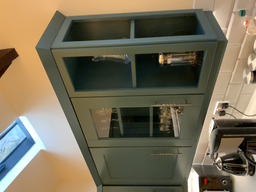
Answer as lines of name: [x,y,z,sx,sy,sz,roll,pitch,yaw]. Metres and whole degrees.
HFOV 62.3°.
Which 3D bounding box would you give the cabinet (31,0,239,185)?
cabinet: [0.070,0.150,1.500,0.360,0.850,1.440,-88,-6,-45]
